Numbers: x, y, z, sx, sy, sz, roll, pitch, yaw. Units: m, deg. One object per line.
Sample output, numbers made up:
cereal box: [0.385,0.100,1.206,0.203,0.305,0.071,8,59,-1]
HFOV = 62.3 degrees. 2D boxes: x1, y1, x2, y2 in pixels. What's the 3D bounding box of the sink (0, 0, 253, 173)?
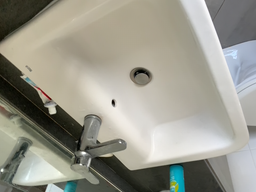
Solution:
sink: [0.050,-0.010,0.590,0.430,0.150,0.580,-17,130,24]
